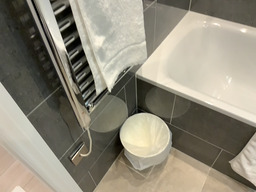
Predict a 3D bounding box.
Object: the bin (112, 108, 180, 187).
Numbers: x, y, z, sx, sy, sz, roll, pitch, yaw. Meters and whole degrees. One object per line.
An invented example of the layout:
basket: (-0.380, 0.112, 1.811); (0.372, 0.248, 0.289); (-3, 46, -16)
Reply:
bin: (0.110, 0.300, 1.260); (0.260, 0.250, 0.290); (25, 56, 22)
